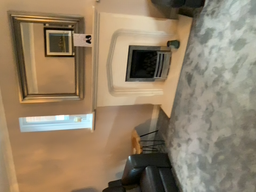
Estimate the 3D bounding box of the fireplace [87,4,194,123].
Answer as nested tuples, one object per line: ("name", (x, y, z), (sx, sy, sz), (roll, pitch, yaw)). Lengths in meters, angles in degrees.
("fireplace", (0.070, -0.410, 2.880), (0.600, 1.130, 1.400), (-120, 34, -59))
